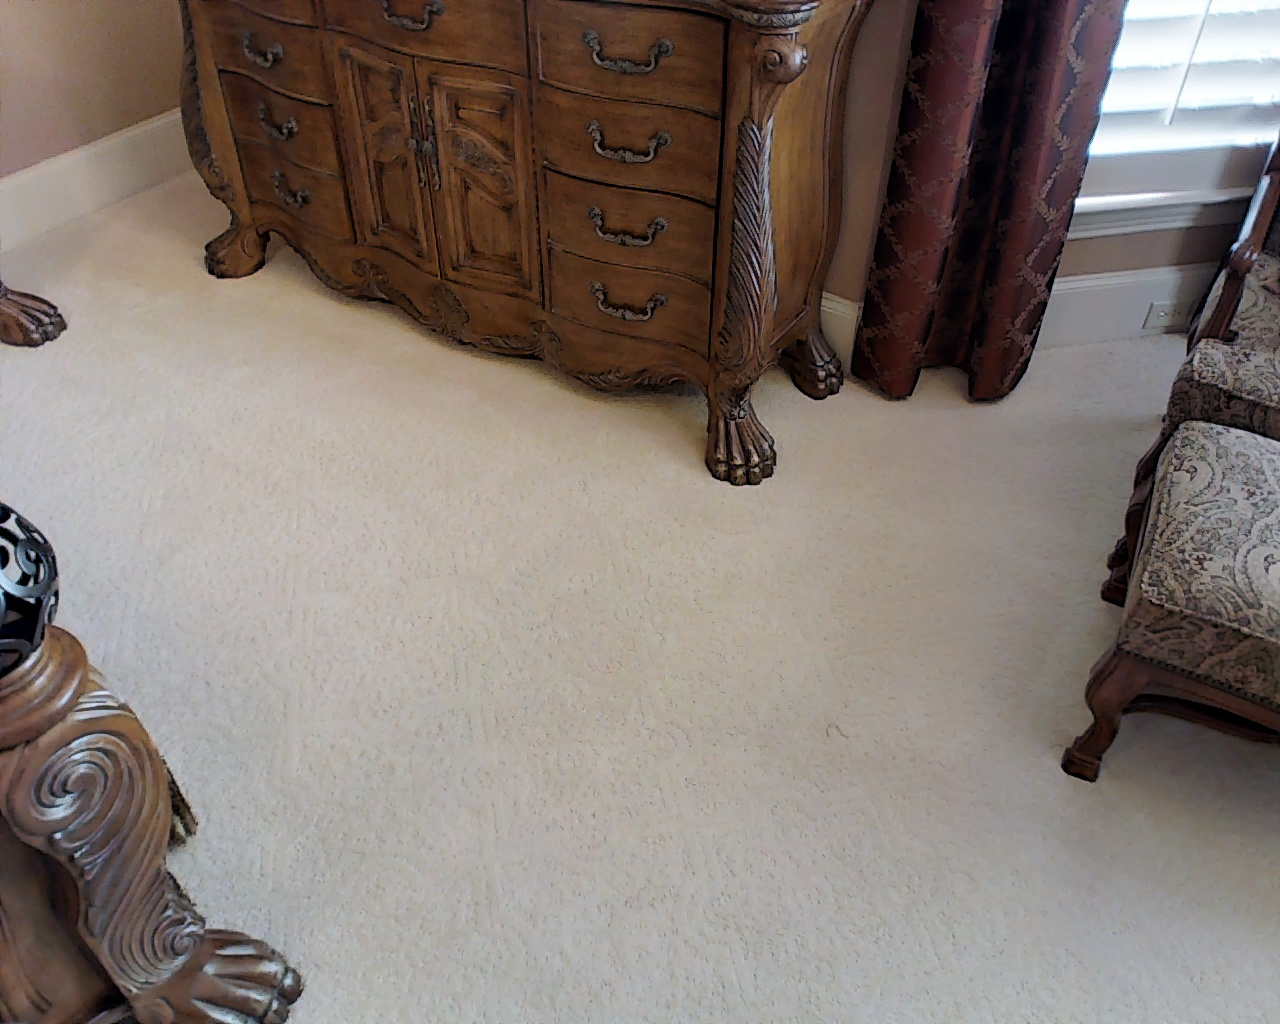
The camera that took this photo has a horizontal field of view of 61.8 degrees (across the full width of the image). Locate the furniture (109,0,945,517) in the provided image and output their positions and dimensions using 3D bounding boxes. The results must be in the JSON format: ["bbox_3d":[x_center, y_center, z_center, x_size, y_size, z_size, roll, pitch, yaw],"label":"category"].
[{"bbox_3d":[-0.360,-0.900,2.590,1.920,1.070,0.570,24,46,24],"label":"furniture"}]
